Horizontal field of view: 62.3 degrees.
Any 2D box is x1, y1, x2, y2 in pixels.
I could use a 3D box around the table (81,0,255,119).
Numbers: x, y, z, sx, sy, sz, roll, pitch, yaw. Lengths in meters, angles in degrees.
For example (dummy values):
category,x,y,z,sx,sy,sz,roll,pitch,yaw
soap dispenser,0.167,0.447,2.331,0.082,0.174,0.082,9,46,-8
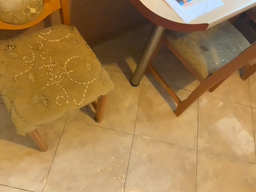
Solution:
category,x,y,z,sx,sy,sz,roll,pitch,yaw
table,0.490,-0.560,1.340,1.420,0.750,0.610,-27,73,-23
